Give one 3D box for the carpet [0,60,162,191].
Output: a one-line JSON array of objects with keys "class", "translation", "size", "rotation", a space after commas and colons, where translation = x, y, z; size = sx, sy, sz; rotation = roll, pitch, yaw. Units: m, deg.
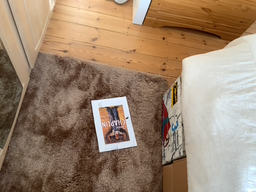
[{"class": "carpet", "translation": [-0.220, 0.490, 1.010], "size": [0.740, 0.100, 1.390], "rotation": [10, 62, -9]}]
